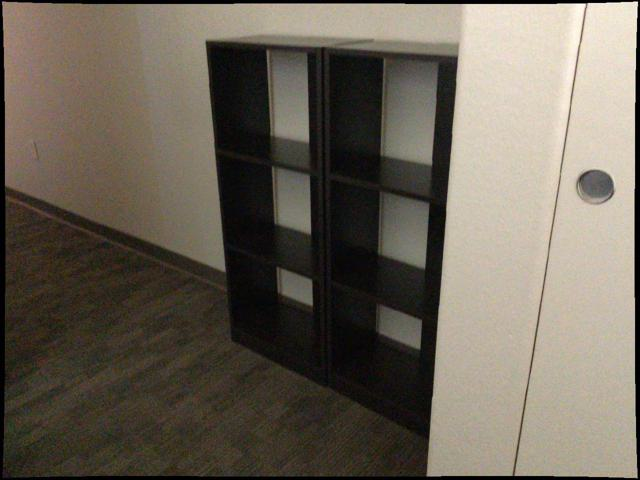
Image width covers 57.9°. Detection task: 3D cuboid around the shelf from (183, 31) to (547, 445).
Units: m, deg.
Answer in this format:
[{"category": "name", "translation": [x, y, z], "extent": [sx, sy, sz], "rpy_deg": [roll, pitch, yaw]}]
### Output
[{"category": "shelf", "translation": [0.110, -0.080, 2.030], "extent": [1.079, 1.181, 0.400], "rpy_deg": [16, 30, 34]}]
